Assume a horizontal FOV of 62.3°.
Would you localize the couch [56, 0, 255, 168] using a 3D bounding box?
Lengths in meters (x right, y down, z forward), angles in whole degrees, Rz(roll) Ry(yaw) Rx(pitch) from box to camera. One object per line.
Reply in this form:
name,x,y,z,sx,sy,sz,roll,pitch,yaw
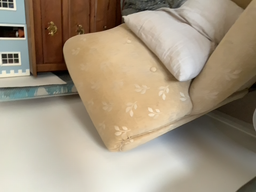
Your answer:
couch,0.300,-0.360,0.960,0.730,0.920,0.960,58,140,29
